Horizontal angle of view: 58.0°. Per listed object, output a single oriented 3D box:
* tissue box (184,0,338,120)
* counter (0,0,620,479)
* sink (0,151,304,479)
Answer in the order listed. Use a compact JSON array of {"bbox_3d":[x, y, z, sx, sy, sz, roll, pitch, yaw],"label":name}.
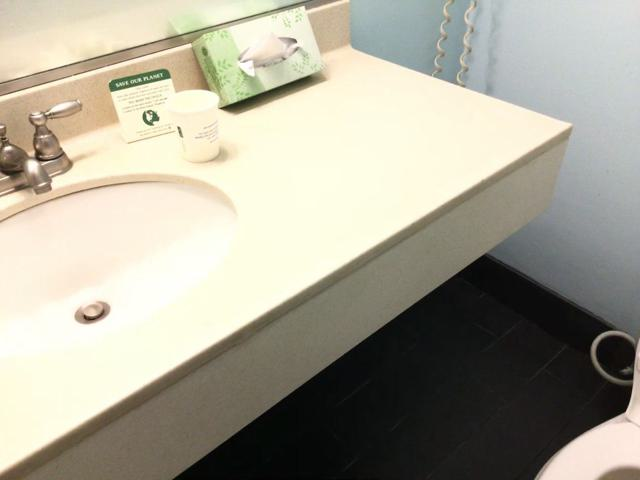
[{"bbox_3d":[-0.100,-0.340,1.070,0.260,0.140,0.110,-27,43,-32],"label":"tissue box"},{"bbox_3d":[-0.200,-0.040,0.820,1.250,0.380,0.560,-27,43,-32],"label":"counter"},{"bbox_3d":[-0.280,0.090,0.770,0.410,0.210,0.310,-27,43,-32],"label":"sink"}]
